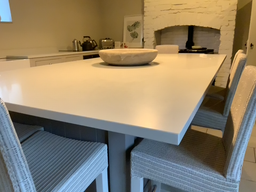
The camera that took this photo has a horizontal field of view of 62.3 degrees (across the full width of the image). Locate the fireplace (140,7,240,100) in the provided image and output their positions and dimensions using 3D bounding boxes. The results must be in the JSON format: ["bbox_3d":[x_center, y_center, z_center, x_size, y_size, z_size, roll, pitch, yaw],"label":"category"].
[{"bbox_3d":[1.230,-0.890,4.390,1.740,1.550,0.930,7,18,27],"label":"fireplace"}]

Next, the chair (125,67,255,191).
[{"bbox_3d":[0.320,0.380,1.050,0.510,0.960,0.470,6,17,21],"label":"chair"}]

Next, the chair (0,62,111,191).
[{"bbox_3d":[-0.370,0.410,0.880,0.390,1.020,0.490,7,18,25],"label":"chair"}]
